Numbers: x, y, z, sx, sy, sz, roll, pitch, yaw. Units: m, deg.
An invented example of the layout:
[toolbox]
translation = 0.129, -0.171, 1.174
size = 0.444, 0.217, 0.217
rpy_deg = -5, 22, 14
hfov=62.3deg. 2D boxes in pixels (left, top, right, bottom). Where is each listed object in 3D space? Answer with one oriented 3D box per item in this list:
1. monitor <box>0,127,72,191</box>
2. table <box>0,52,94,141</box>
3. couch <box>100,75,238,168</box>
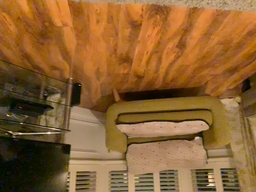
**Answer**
[monitor]
translation = -0.890, 0.600, 1.610
size = 0.050, 0.690, 1.070
rpy_deg = -17, 156, 35
[table]
translation = -0.860, 0.080, 1.940
size = 0.470, 0.520, 1.020
rpy_deg = -16, 156, 36
[couch]
translation = 0.400, 0.390, 2.470
size = 1.190, 0.810, 1.030
rpy_deg = -4, 160, 7
